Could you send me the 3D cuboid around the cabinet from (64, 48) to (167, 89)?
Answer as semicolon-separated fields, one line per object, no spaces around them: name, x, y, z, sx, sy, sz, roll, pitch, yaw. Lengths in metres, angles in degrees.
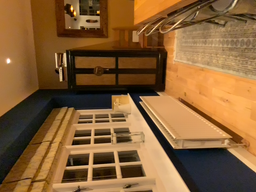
cabinet;-0.250;-0.580;4.220;0.730;1.830;0.680;-120;30;-73

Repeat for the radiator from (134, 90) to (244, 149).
radiator;0.550;0.170;2.650;1.800;0.630;0.090;-123;32;-74
